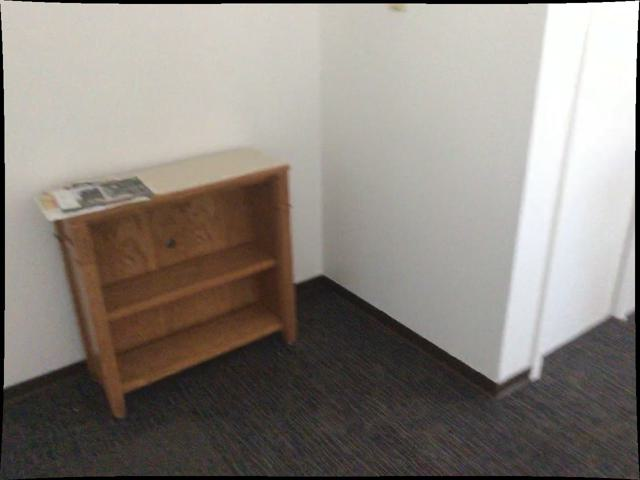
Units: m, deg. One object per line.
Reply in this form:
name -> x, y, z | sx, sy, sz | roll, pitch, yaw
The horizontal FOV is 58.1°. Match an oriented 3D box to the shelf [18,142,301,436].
shelf -> -0.529, 0.130, 2.110 | 0.819, 0.781, 0.360 | -18, 29, -32
